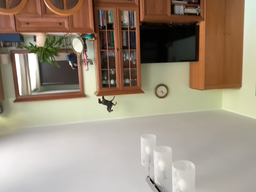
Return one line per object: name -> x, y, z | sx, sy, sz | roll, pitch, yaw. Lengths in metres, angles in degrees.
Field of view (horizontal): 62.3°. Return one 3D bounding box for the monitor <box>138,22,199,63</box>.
monitor -> 0.730, -0.950, 3.800 | 1.100, 0.680, 0.100 | -3, -171, -10
